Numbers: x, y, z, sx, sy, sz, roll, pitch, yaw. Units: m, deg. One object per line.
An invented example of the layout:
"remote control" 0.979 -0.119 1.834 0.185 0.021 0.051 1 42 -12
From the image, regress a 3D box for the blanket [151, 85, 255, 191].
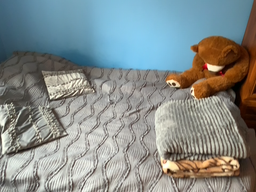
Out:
"blanket" 0.390 0.220 1.310 0.460 0.300 0.600 3 32 3
